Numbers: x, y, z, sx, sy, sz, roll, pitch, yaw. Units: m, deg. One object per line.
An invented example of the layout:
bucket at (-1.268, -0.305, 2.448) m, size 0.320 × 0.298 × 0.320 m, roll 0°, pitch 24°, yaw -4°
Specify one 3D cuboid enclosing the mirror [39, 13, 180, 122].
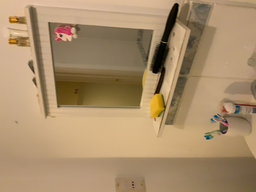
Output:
mirror at (-0.070, -0.070, 0.750) m, size 0.050 × 0.410 × 0.380 m, roll -100°, pitch 15°, yaw -53°
